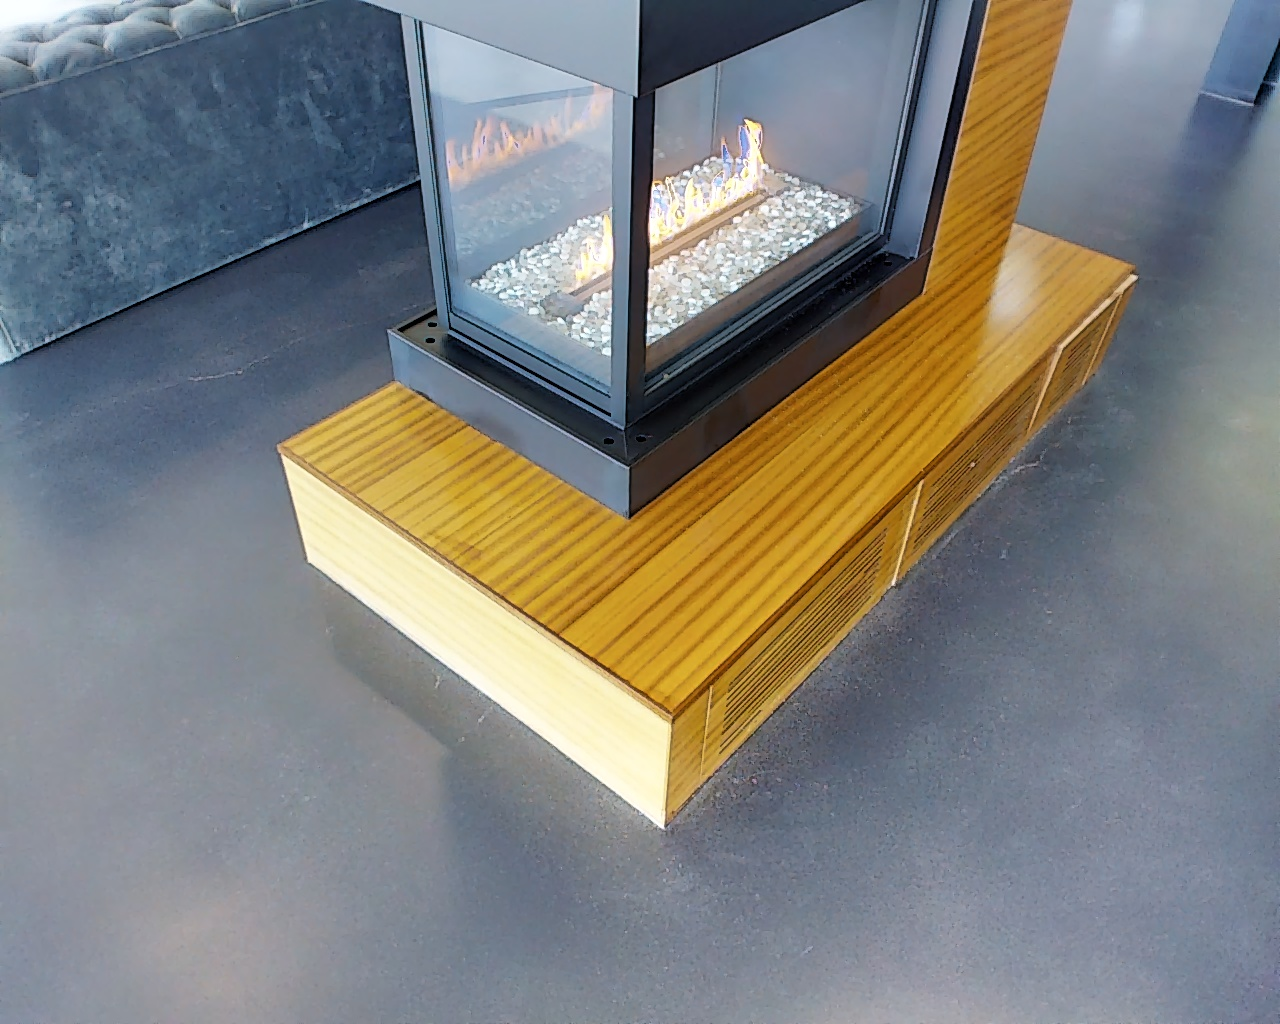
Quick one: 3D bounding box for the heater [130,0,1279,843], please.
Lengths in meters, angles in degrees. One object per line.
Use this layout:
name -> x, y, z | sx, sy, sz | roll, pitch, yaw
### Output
heater -> 0.290, -0.720, 2.090 | 1.110, 1.460, 1.920 | 32, 50, 29
